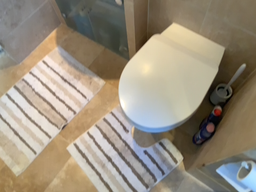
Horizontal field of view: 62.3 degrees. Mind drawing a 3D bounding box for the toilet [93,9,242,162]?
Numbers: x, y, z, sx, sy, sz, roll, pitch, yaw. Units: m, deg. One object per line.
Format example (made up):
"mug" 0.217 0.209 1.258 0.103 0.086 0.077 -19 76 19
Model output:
"toilet" 0.200 -0.030 1.160 0.410 0.460 0.580 34 74 16
